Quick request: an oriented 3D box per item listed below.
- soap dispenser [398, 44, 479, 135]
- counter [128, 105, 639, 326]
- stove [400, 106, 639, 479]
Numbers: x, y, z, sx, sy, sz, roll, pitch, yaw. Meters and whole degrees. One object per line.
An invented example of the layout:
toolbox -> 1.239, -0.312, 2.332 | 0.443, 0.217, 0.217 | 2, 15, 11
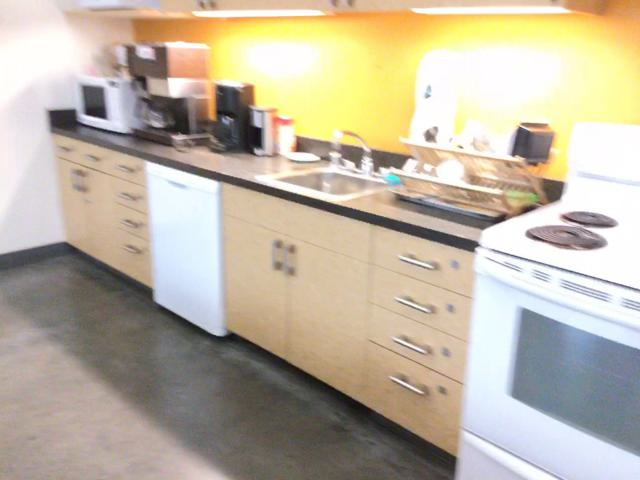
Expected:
soap dispenser -> 0.470, -0.600, 2.310 | 0.170, 0.330, 0.220 | -10, 20, -42
counter -> 0.390, -0.210, 2.120 | 0.750, 0.300, 3.250 | -10, 20, -42
stove -> 0.880, 0.280, 1.680 | 0.720, 1.220, 0.920 | -10, 20, -42
